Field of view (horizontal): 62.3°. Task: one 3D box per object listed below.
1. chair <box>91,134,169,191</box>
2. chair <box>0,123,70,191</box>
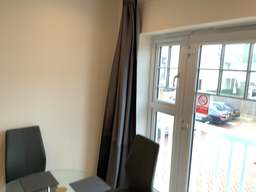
[{"bbox_3d":[0.000,0.940,2.000,0.530,0.970,0.470,-4,11,-39],"label":"chair"},{"bbox_3d":[-0.920,0.860,2.080,0.500,1.030,0.530,-4,11,-39],"label":"chair"}]
